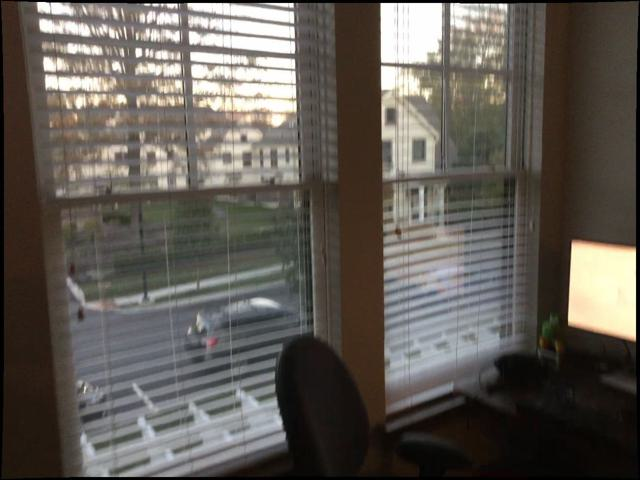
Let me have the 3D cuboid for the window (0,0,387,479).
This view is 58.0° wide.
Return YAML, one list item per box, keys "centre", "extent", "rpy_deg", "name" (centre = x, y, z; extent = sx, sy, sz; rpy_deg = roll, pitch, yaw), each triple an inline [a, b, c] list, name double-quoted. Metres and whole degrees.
- centre: [-0.349, -0.160, 1.620]
  extent: [1.068, 1.774, 0.300]
  rpy_deg: [-10, 14, -30]
  name: "window"

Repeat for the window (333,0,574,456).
- centre: [0.549, -0.231, 2.190]
  extent: [1.028, 1.864, 0.150]
  rpy_deg: [-10, 14, -30]
  name: "window"

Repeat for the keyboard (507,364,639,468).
- centre: [0.848, 0.531, 1.810]
  extent: [0.260, 0.080, 0.430]
  rpy_deg: [-10, 14, -30]
  name: "keyboard"
